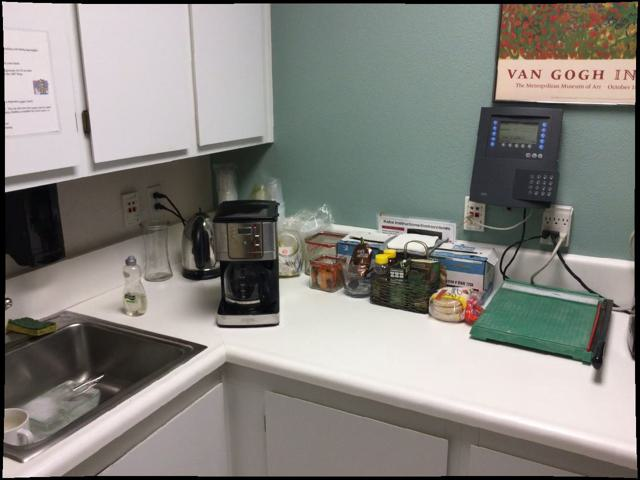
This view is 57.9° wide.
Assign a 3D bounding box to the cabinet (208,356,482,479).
[{"bbox_3d":[0.040,0.771,1.540,0.709,0.831,0.070,8,19,27],"label":"cabinet"}]

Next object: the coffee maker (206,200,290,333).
[{"bbox_3d":[-0.200,0.070,1.640,0.170,0.330,0.140,8,19,26],"label":"coffee maker"}]

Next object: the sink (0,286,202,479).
[{"bbox_3d":[-0.669,0.370,1.450,0.520,0.280,0.490,8,19,27],"label":"sink"}]
